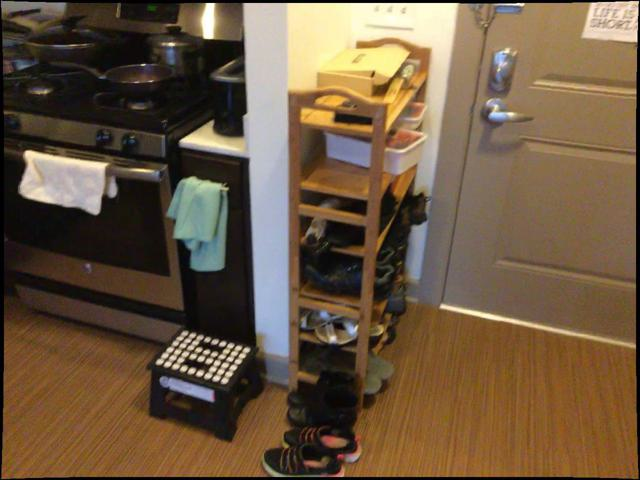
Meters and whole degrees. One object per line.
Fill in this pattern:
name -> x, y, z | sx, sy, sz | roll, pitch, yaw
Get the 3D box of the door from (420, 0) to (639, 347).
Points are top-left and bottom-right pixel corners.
door -> 0.958, -0.561, 1.740 | 1.018, 2.024, 0.130 | 11, 32, 12

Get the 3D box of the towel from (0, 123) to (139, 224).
towel -> -0.778, -0.211, 1.780 | 0.359, 0.200, 0.180 | 11, 32, 12

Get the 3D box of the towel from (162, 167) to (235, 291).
towel -> -0.359, -0.030, 1.740 | 0.170, 0.341, 0.100 | 11, 32, 12
